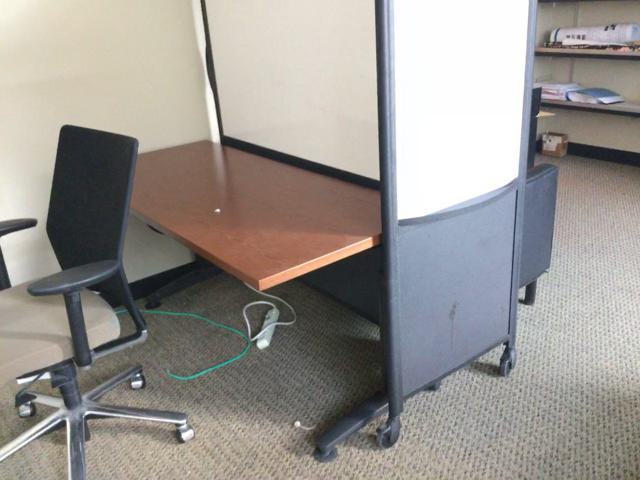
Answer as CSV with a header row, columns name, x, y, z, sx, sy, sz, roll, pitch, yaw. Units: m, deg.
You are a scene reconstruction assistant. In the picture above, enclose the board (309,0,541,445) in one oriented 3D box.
name,x,y,z,sx,sy,sz,roll,pitch,yaw
board,0.340,-0.300,1.590,0.690,1.680,0.130,-22,26,-30
